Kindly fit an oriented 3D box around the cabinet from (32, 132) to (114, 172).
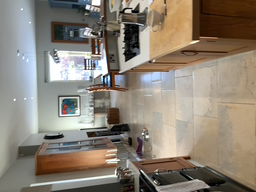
[{"bbox_3d":[-1.240,1.220,4.900,1.220,1.610,0.430,-174,84,-74],"label":"cabinet"}]
